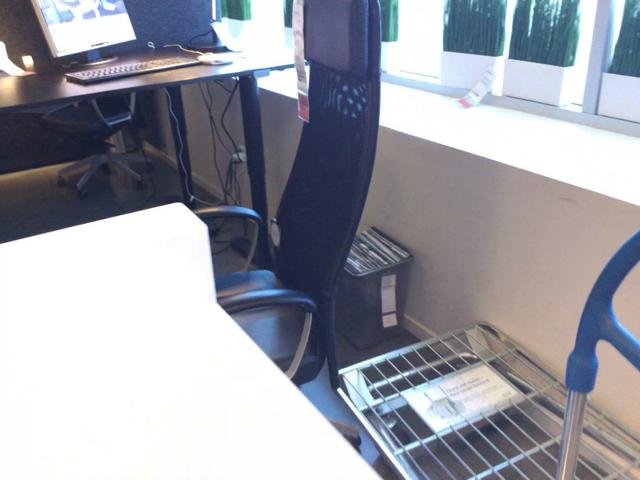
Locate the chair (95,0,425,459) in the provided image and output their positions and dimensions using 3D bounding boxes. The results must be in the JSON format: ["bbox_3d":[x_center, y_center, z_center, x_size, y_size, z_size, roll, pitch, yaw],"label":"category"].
[{"bbox_3d":[-0.180,-0.120,1.480,0.520,0.960,0.670,-11,24,-27],"label":"chair"}]
